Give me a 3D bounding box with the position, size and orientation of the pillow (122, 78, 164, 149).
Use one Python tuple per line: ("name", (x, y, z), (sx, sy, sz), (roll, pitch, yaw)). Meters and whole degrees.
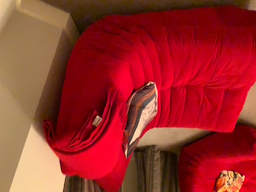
("pillow", (0.080, 0.130, 1.310), (0.080, 0.340, 0.410), (-24, 161, -8))
